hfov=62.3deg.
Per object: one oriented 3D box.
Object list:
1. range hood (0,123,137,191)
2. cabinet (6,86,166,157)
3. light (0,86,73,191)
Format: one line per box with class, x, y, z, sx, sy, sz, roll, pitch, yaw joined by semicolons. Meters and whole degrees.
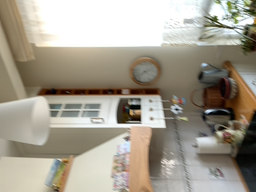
range hood;-0.460;0.570;1.480;0.620;1.040;0.420;-86;-4;-53
cabinet;-0.320;0.210;1.970;0.570;1.250;0.330;-85;-5;-54
light;-0.500;0.320;1.090;0.240;0.250;0.740;-91;-1;-52
